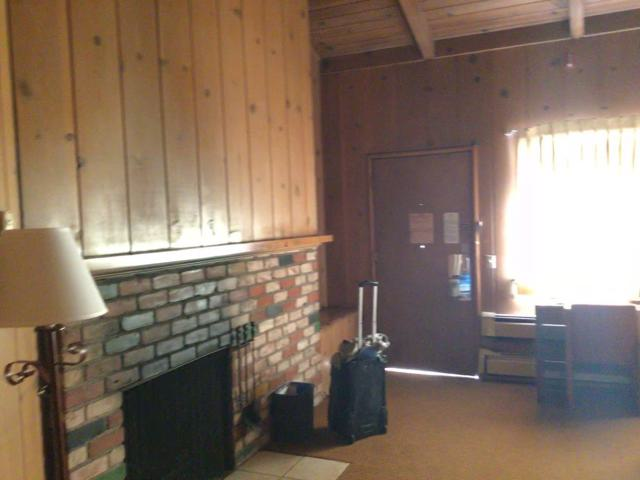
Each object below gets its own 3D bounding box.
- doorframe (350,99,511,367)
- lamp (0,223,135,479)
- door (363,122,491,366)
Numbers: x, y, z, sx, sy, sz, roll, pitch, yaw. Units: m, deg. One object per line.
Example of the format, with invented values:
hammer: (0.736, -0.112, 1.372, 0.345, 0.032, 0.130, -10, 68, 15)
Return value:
doorframe: (0.900, -0.010, 4.810, 1.170, 2.100, 0.090, -4, 4, 26)
lamp: (-0.820, 0.680, 1.670, 0.360, 1.410, 0.390, -4, 4, 26)
door: (0.880, 0.070, 4.820, 0.900, 1.950, 0.080, -4, 4, 26)
